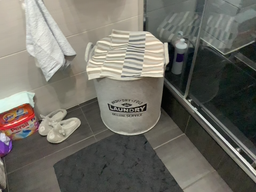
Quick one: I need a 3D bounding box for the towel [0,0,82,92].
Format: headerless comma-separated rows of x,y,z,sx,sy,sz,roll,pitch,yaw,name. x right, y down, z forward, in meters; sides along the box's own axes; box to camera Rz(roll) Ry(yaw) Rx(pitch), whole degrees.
-0.450,-0.320,1.150,0.250,0.590,0.180,-16,49,-11,towel
